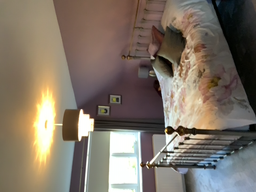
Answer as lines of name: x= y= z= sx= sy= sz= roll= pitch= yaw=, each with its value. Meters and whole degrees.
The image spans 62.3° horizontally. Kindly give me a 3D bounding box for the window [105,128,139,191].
window: x=-0.130 y=1.500 z=4.630 sx=0.120 sy=0.710 sz=1.620 roll=105 pitch=166 yaw=-63
